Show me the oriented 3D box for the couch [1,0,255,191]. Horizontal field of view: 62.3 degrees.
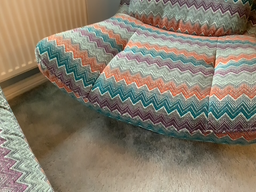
[{"bbox_3d":[0.200,-0.310,0.870,0.860,0.860,0.870,15,39,17],"label":"couch"}]
